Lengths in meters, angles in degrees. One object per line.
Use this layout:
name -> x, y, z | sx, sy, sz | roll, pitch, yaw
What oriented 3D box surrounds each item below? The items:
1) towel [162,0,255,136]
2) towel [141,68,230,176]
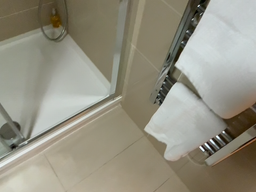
towel -> 0.260, -0.150, 0.490 | 0.070, 0.510, 0.310 | -22, 63, -22
towel -> 0.200, 0.150, 0.940 | 0.090, 0.510, 0.270 | -15, 61, -18
